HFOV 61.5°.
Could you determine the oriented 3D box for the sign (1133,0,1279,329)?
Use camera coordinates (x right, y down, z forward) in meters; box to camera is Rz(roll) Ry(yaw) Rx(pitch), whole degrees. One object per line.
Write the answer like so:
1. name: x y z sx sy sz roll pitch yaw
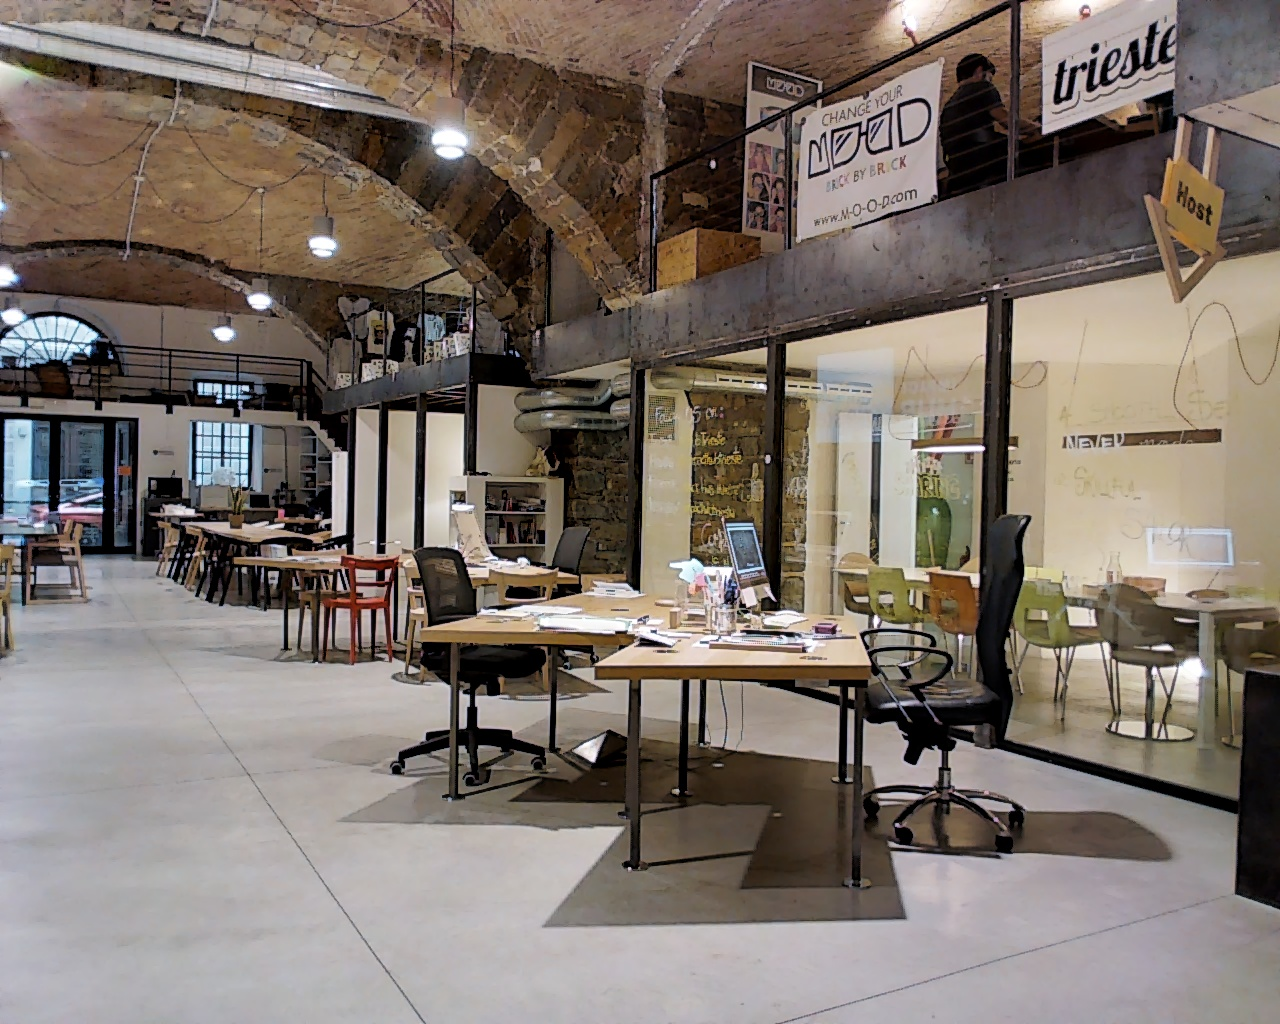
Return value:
1. sign: 2.059 -1.070 3.510 1.160 0.890 0.130 1 1 -29
